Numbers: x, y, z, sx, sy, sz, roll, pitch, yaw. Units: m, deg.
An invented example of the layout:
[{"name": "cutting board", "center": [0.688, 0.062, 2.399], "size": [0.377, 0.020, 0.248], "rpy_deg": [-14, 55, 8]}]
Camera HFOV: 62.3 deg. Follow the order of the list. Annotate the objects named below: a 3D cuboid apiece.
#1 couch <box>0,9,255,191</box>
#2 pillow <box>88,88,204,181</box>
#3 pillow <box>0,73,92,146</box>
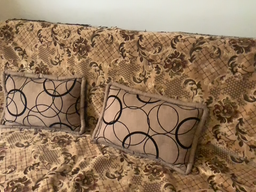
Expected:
[{"name": "couch", "center": [-0.150, 0.190, 1.150], "size": [1.930, 0.940, 1.000], "rpy_deg": [11, 36, 17]}, {"name": "pillow", "center": [0.080, 0.170, 1.070], "size": [0.520, 0.350, 0.150], "rpy_deg": [8, 9, 15]}, {"name": "pillow", "center": [-0.540, 0.060, 1.270], "size": [0.600, 0.340, 0.180], "rpy_deg": [7, 8, 10]}]
